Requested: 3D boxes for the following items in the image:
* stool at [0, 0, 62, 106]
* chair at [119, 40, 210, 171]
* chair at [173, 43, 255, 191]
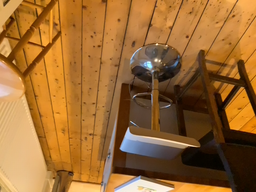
[{"bbox_3d":[-0.620,-0.340,1.160,0.330,0.670,0.350,10,140,-7],"label":"stool"},{"bbox_3d":[0.200,0.050,1.480,0.420,0.750,0.450,8,140,-4],"label":"chair"},{"bbox_3d":[0.620,0.200,1.400,0.400,1.030,0.470,11,140,-8],"label":"chair"}]
